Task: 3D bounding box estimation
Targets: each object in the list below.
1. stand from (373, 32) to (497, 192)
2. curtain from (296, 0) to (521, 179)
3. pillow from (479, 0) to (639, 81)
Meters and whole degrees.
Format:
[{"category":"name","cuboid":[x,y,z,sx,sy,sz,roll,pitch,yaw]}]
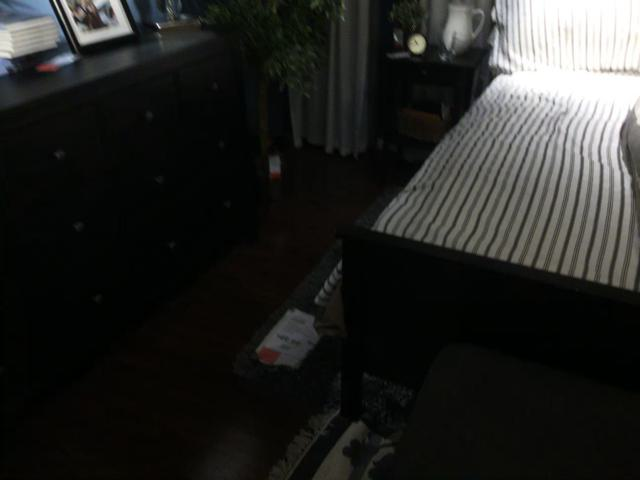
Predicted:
[{"category":"stand","cuboid":[0.590,-0.650,2.900,0.470,0.660,0.420,9,33,28]},{"category":"curtain","cuboid":[0.420,-1.200,2.840,1.020,1.700,0.390,9,33,28]},{"category":"pillow","cuboid":[1.170,-0.900,2.340,0.960,0.420,0.320,9,33,28]}]
